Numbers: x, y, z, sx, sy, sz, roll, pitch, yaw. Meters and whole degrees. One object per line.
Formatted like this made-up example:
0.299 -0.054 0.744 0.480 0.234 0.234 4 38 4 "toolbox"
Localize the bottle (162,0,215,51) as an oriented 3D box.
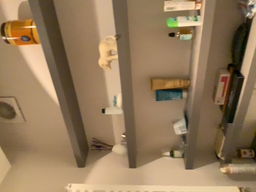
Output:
0.210 -0.260 0.770 0.070 0.160 0.170 -83 -9 -57 "bottle"
